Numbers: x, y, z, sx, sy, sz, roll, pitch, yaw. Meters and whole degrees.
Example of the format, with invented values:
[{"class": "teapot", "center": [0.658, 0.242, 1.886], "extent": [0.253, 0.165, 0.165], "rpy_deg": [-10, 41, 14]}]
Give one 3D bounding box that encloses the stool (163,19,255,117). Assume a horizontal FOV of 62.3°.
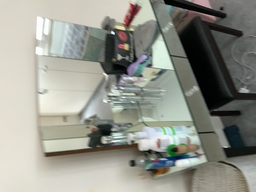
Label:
[{"class": "stool", "center": [0.600, -0.180, 1.500], "extent": [0.250, 0.510, 0.590], "rpy_deg": [-45, 51, 51]}]
